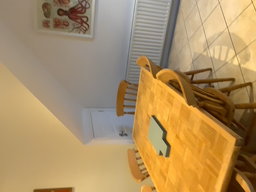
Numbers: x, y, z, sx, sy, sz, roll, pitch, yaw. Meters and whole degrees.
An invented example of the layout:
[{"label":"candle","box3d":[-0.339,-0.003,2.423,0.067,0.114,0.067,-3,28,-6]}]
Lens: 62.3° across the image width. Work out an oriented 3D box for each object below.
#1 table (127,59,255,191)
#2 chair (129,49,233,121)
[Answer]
[{"label":"table","box3d":[0.590,0.340,1.910,1.550,0.710,0.960,-124,39,-63]},{"label":"chair","box3d":[0.490,-0.110,2.140,0.440,0.800,0.550,-117,33,-62]}]
